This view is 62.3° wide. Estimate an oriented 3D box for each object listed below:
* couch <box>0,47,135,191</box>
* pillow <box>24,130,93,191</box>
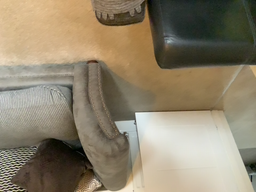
[{"bbox_3d":[-0.810,0.320,1.670,1.620,0.740,1.090,-4,147,-3],"label":"couch"},{"bbox_3d":[-0.470,0.530,1.560,0.420,0.460,0.270,-1,146,-8],"label":"pillow"}]
